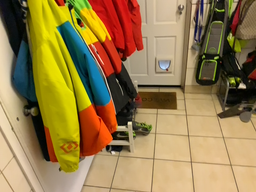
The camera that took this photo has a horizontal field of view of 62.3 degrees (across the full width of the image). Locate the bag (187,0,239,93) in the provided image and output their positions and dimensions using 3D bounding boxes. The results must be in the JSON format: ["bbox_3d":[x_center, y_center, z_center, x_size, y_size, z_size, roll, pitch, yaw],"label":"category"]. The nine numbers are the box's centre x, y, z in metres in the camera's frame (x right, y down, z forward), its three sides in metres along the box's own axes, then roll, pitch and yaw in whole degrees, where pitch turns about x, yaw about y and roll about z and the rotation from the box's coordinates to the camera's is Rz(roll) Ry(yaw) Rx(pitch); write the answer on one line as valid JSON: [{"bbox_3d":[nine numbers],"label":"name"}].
[{"bbox_3d":[0.900,-0.550,2.360,0.380,1.090,0.180,2,34,10],"label":"bag"}]

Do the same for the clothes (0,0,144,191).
[{"bbox_3d":[-0.160,-0.430,1.740,0.380,1.620,2.040,1,34,9],"label":"clothes"}]

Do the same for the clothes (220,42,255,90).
[{"bbox_3d":[1.550,-0.320,2.270,0.950,0.430,0.310,2,34,10],"label":"clothes"}]

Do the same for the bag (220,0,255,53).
[{"bbox_3d":[1.200,-0.760,2.140,0.380,0.600,0.210,0,34,7],"label":"bag"}]
